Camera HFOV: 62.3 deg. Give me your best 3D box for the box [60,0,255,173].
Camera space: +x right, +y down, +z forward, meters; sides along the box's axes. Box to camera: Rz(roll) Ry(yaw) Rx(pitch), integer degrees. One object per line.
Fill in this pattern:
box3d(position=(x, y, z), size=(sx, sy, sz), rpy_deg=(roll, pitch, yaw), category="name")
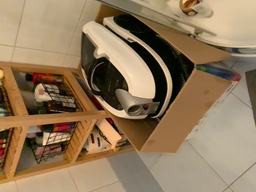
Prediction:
box3d(position=(0.130, -0.140, 1.030), size=(0.690, 0.560, 0.510), rpy_deg=(50, 123, 34), category="box")
